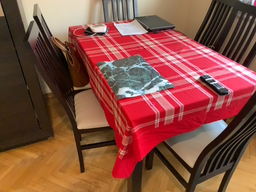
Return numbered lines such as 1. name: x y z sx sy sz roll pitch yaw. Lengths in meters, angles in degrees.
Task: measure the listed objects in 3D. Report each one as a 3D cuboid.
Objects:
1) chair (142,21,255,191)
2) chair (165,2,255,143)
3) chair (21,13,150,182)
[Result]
1. chair: 0.430 0.190 1.190 0.410 1.000 0.600 -15 38 -22
2. chair: 0.720 -0.180 1.740 0.570 0.990 0.440 -10 37 -16
3. chair: -0.240 0.030 1.410 0.580 0.990 0.420 -8 36 -14
